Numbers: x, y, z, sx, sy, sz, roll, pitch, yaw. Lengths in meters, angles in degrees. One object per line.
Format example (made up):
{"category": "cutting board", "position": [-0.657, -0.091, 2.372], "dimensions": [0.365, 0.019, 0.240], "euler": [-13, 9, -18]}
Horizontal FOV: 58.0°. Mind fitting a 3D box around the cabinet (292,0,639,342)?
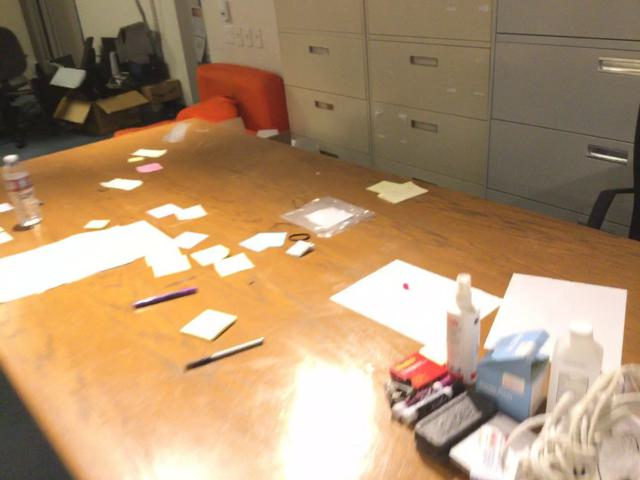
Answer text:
{"category": "cabinet", "position": [0.760, -0.680, 2.490], "dimensions": [0.450, 1.640, 2.310], "euler": [-21, 28, -32]}
